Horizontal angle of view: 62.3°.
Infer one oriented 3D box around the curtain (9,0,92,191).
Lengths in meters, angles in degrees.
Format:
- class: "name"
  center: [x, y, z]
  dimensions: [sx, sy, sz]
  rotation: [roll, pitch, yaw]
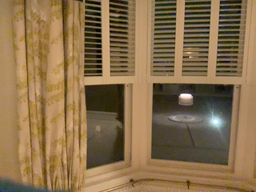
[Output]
- class: "curtain"
  center: [-0.620, -0.320, 1.800]
  dimensions: [0.510, 3.200, 0.390]
  rotation: [2, -172, 9]
